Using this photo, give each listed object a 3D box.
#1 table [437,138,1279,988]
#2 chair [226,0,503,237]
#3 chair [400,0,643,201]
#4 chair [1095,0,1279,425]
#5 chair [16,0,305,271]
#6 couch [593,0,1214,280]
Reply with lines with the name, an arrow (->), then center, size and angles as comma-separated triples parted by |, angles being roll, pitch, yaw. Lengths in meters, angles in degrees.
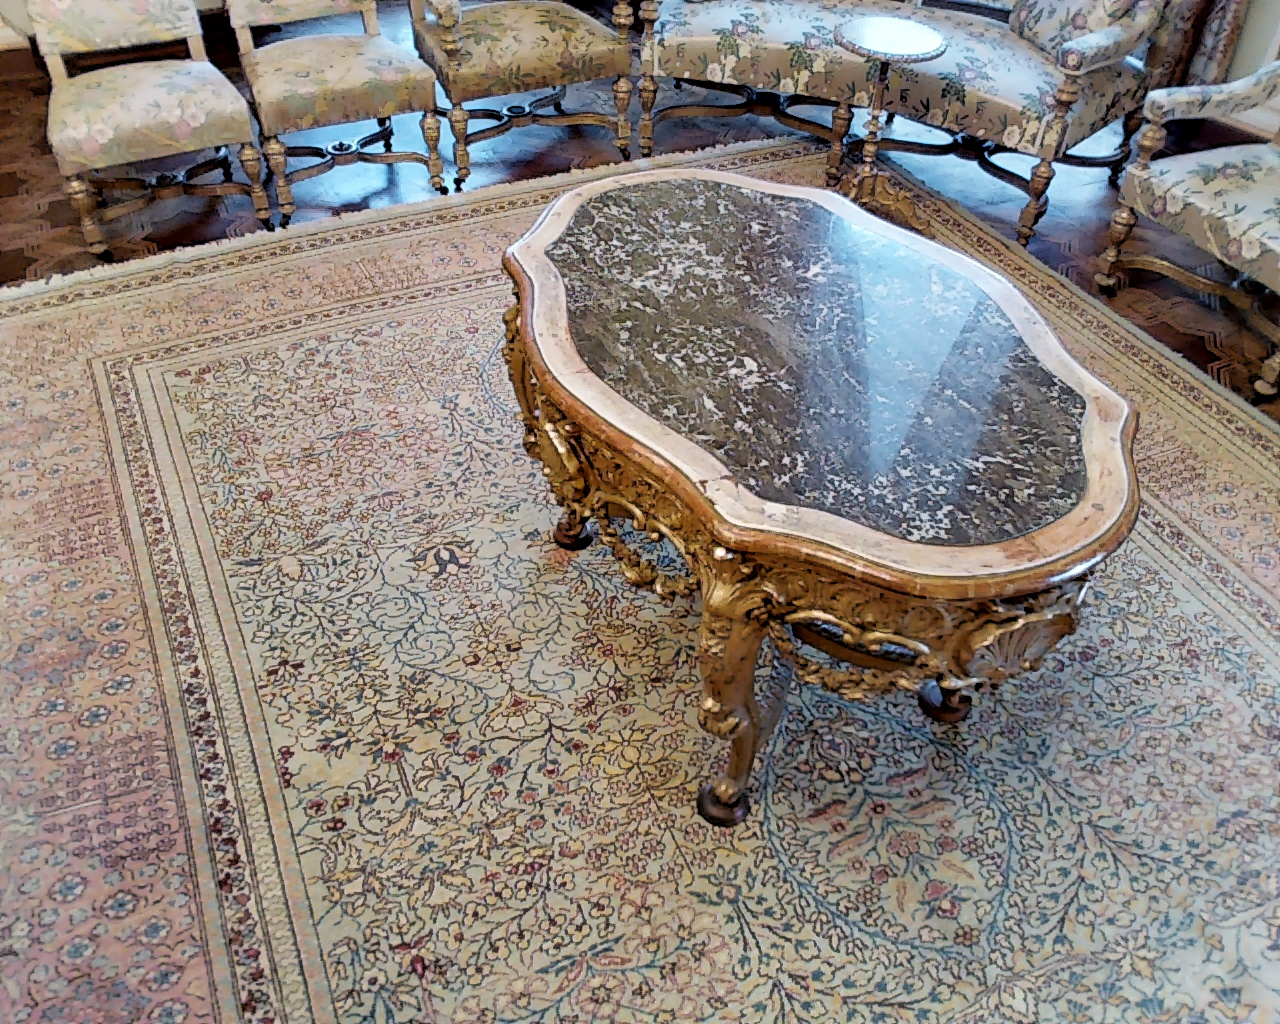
table -> 0.280, -0.040, 2.100 | 0.900, 0.760, 1.350 | -17, 44, -19
chair -> -0.960, -1.630, 3.640 | 0.730, 1.050, 0.680 | -17, 44, -19
chair -> -0.450, -1.881, 3.850 | 0.650, 1.160, 0.790 | -17, 44, -19
chair -> 1.949, -0.990, 2.920 | 0.750, 1.160, 0.720 | -17, 44, -19
chair -> -1.550, -1.450, 3.420 | 0.620, 1.050, 0.670 | -17, 44, -19
couch -> 0.930, -1.750, 3.840 | 1.940, 1.030, 1.030 | 20, 45, 20
